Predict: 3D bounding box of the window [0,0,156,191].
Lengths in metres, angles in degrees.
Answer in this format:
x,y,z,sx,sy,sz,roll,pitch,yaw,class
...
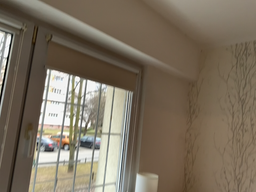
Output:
x,y,z,sx,sy,sz,roll,pitch,yaw,class
-0.690,0.120,0.830,0.160,1.190,2.510,0,-9,41,window

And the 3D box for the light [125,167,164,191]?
x,y,z,sx,sy,sz,roll,pitch,yaw,class
0.110,0.690,1.480,0.160,0.320,0.220,-1,-10,42,light
